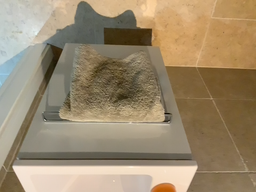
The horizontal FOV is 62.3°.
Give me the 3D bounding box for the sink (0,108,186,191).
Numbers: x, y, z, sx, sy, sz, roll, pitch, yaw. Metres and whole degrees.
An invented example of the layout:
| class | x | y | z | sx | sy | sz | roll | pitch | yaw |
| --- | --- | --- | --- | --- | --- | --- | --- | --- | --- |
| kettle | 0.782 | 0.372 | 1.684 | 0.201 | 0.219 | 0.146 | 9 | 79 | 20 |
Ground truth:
| class | x | y | z | sx | sy | sz | roll | pitch | yaw |
| --- | --- | --- | --- | --- | --- | --- | --- | --- | --- |
| sink | -0.090 | 0.190 | 0.590 | 0.410 | 0.170 | 0.270 | 0 | 131 | -3 |
